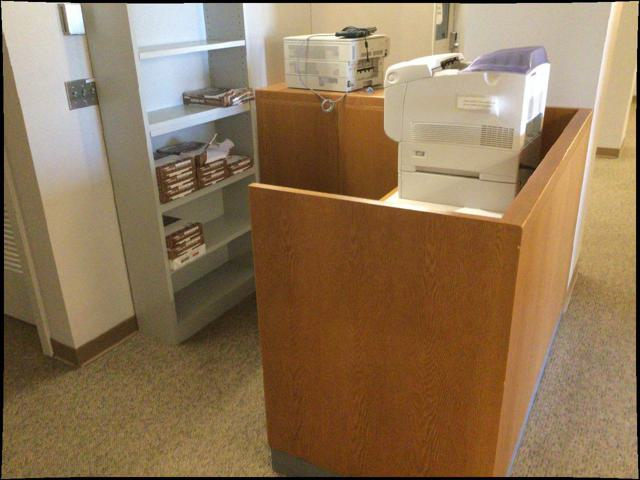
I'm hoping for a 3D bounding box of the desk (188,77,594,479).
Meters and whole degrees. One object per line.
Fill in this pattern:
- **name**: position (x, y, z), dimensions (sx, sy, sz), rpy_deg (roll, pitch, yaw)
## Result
- **desk**: position (0.439, 0.060, 2.230), dimensions (0.779, 1.042, 1.650), rpy_deg (11, 29, 30)
